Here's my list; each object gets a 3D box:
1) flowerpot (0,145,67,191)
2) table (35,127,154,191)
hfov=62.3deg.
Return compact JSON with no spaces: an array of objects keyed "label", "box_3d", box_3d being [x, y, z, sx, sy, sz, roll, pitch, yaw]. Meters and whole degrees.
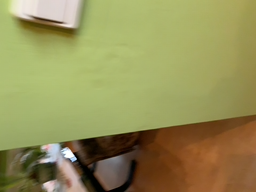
[{"label":"flowerpot","box_3d":[-0.920,0.780,1.790,0.620,0.550,0.350,34,116,46]},{"label":"table","box_3d":[-0.400,0.860,1.980,1.120,0.550,0.630,31,114,47]}]
